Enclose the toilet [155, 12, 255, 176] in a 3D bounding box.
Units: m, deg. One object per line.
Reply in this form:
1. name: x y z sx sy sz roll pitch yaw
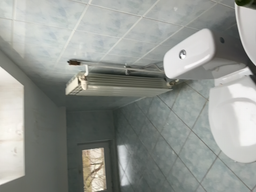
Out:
1. toilet: 0.610 0.010 1.230 0.370 0.730 0.710 -26 67 57
